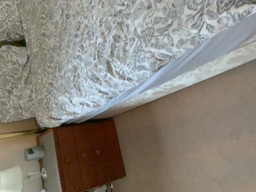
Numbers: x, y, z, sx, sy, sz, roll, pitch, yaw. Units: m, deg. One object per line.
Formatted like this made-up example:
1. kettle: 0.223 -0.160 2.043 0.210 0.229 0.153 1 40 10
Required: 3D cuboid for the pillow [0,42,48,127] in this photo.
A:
1. pillow: -1.090 -0.110 1.910 0.140 0.330 0.690 -29 99 45
